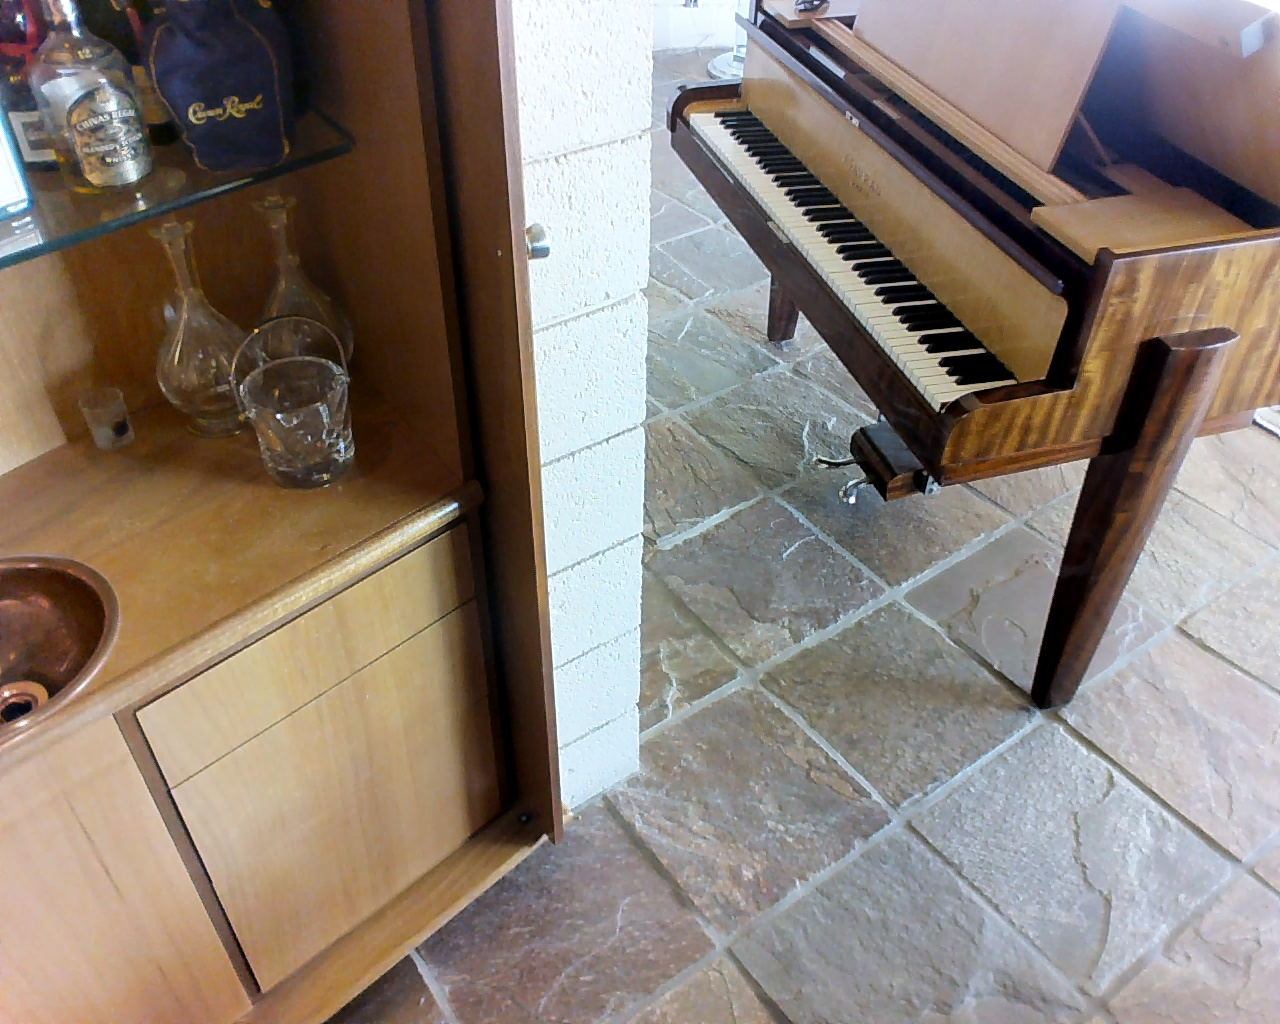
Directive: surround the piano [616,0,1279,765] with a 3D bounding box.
[{"bbox_3d":[0.920,-0.680,2.350,1.510,1.260,1.670,-12,42,-14],"label":"piano"}]
